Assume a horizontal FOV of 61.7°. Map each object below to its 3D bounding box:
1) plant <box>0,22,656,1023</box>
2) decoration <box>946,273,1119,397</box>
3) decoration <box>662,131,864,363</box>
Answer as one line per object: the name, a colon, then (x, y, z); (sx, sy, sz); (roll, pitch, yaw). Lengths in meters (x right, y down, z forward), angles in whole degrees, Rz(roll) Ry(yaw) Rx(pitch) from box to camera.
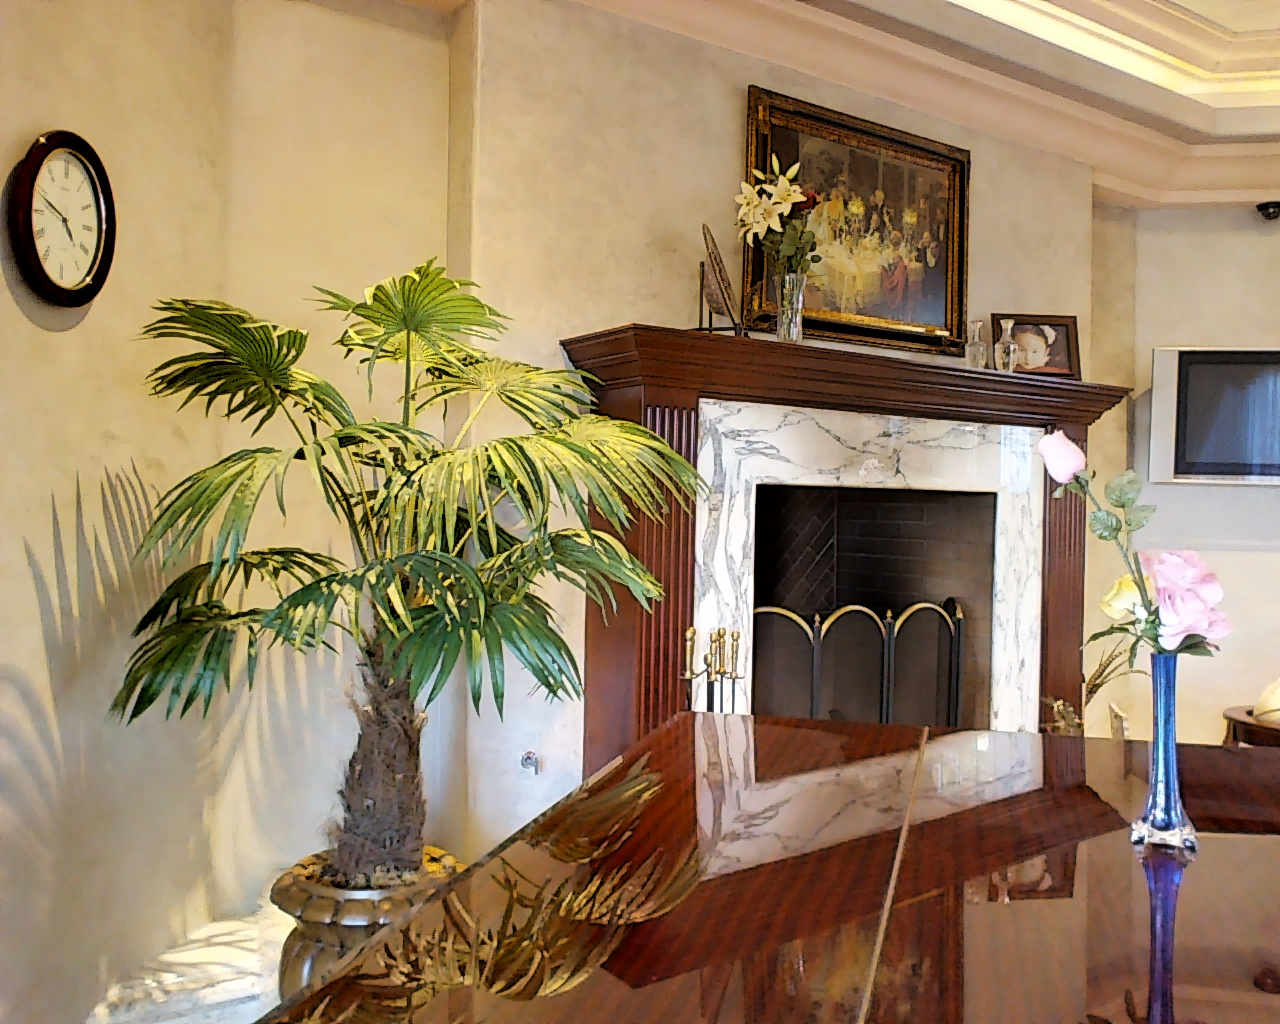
plant: (-0.630, 0.320, 2.430); (1.030, 2.180, 1.270); (2, 0, -11)
decoration: (1.530, -0.670, 4.160); (0.660, 0.370, 0.280); (2, 0, -33)
decoration: (0.390, -0.810, 3.390); (0.540, 0.590, 0.310); (2, 0, -31)
